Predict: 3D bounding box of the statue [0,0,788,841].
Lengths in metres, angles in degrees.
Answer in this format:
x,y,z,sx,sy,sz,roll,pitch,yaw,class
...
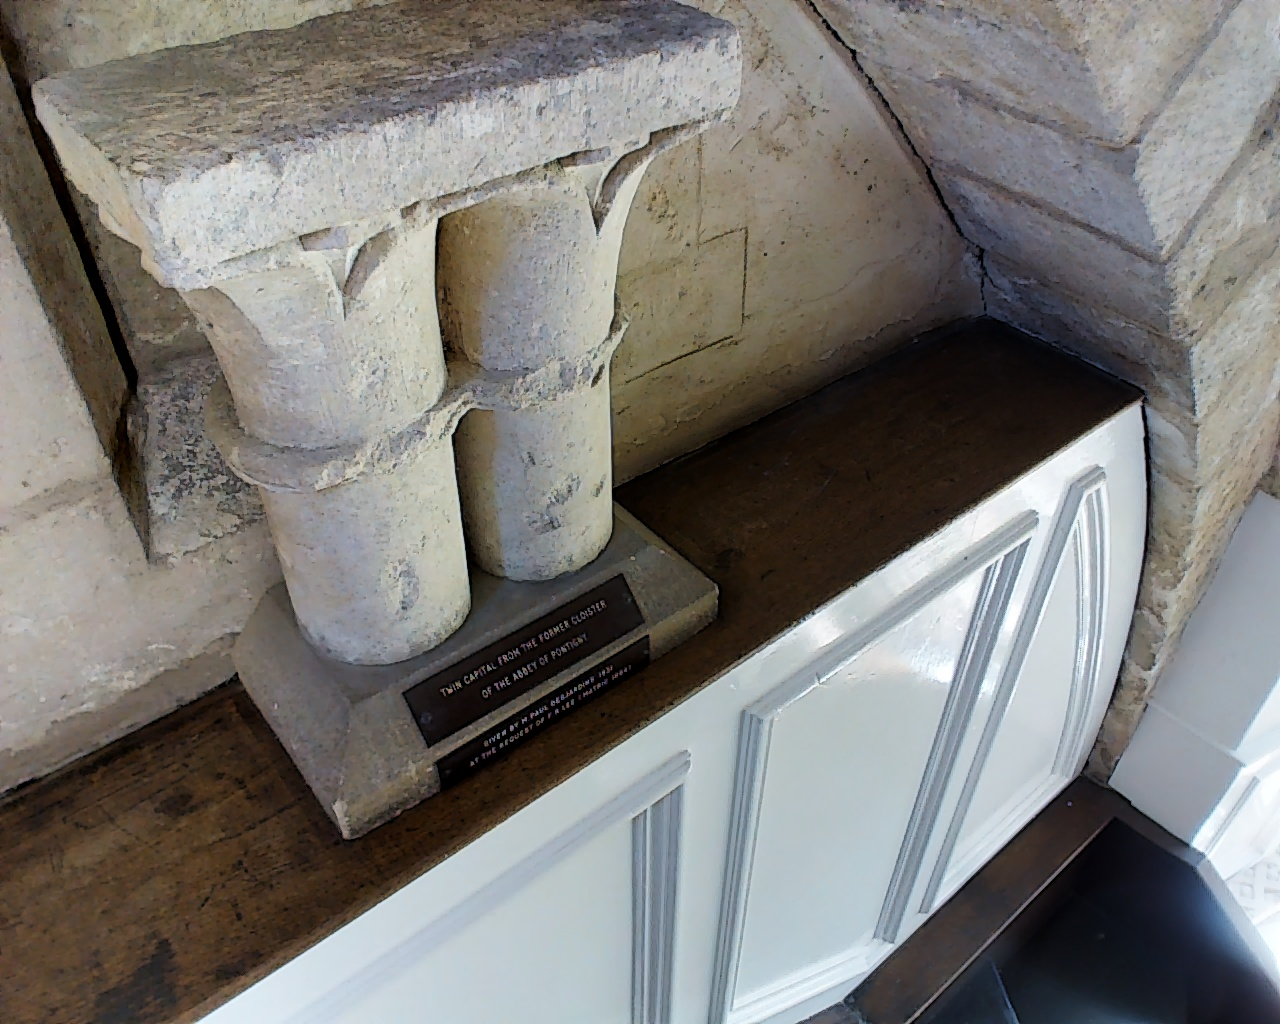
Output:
x,y,z,sx,sy,sz,roll,pitch,yaw,class
-0.170,-0.100,0.910,0.450,0.540,0.300,-29,49,-30,statue
